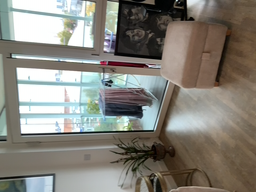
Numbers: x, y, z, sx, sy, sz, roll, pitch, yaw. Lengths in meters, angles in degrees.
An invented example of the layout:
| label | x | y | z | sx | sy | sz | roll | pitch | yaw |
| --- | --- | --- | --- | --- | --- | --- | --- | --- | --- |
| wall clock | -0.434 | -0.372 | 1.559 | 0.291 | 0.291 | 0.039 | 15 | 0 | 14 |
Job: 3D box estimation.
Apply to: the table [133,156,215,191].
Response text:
| label | x | y | z | sx | sy | sz | roll | pitch | yaw |
| --- | --- | --- | --- | --- | --- | --- | --- | --- | --- |
| table | 0.480 | 1.070 | 2.410 | 0.500 | 0.640 | 0.510 | -117 | 33 | -56 |
